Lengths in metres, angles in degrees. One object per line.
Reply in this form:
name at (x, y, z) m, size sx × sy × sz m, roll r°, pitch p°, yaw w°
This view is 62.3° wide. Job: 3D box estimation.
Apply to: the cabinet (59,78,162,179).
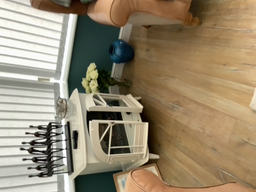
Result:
cabinet at (-0.180, 0.280, 1.780) m, size 0.460 × 0.640 × 0.630 m, roll -43°, pitch 50°, yaw 47°
